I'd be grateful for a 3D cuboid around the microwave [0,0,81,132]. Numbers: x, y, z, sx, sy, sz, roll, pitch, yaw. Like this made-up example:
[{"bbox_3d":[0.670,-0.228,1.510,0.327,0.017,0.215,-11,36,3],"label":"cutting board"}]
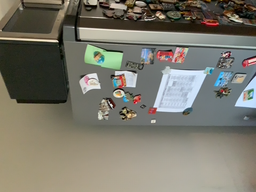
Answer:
[{"bbox_3d":[-0.470,-0.230,1.240,0.630,0.310,0.620,100,169,-47],"label":"microwave"}]
